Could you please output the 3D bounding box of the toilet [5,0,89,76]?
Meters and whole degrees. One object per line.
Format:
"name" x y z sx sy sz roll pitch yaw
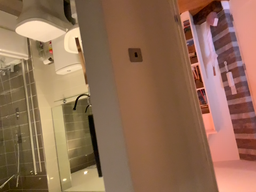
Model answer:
"toilet" -0.870 -0.720 2.340 0.400 0.860 0.680 -13 173 25

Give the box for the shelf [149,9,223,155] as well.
"shelf" 0.950 -0.210 3.560 0.690 2.250 0.320 -14 173 30
